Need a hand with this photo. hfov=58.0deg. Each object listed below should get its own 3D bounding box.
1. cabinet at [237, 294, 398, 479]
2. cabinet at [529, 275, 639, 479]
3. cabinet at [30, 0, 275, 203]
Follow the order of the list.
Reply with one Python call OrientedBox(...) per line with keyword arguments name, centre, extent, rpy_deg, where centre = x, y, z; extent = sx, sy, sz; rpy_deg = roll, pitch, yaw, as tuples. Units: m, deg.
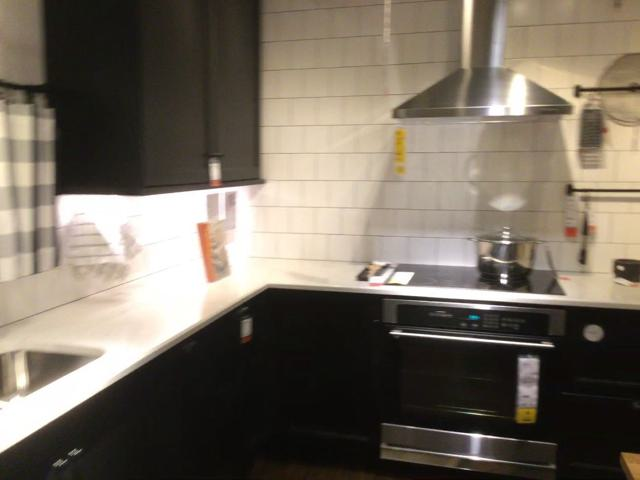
OrientedBox(name="cabinet", centre=(0.020, 0.700, 2.920), extent=(0.650, 0.720, 0.590), rpy_deg=(1, 8, 17))
OrientedBox(name="cabinet", centre=(1.270, 0.580, 2.470), extent=(0.670, 0.740, 0.600), rpy_deg=(1, 8, 17))
OrientedBox(name="cabinet", centre=(-0.640, -0.760, 2.580), extent=(0.410, 1.100, 1.230), rpy_deg=(1, 8, 17))
